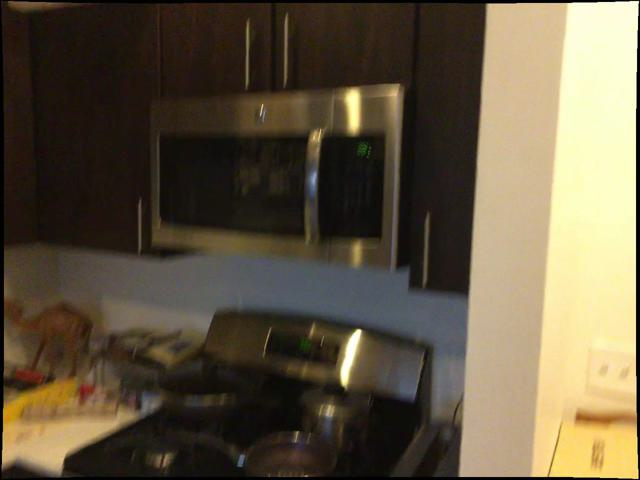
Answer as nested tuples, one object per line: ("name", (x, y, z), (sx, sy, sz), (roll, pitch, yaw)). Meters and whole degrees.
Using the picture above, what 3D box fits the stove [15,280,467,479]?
("stove", (-0.200, 0.822, 1.560), (0.858, 1.143, 0.740), (12, 13, 24))
